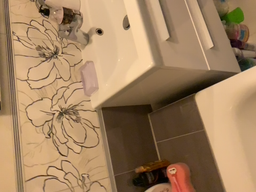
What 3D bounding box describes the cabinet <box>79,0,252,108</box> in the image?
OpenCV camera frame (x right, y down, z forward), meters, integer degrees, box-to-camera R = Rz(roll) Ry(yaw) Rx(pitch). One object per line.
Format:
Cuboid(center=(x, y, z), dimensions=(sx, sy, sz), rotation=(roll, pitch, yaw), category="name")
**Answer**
Cuboid(center=(0.150, -0.310, 1.010), dimensions=(0.410, 0.560, 0.610), rotation=(-31, 67, 49), category="cabinet")
